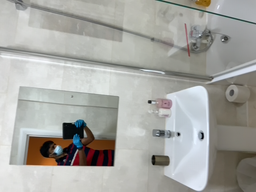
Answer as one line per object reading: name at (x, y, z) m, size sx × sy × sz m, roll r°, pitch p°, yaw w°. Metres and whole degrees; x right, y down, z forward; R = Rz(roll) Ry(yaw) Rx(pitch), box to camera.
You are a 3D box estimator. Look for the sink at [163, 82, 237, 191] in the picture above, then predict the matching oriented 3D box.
sink at (0.410, 0.240, 1.280) m, size 0.440 × 0.190 × 0.560 m, roll 157°, pitch 118°, yaw -72°
